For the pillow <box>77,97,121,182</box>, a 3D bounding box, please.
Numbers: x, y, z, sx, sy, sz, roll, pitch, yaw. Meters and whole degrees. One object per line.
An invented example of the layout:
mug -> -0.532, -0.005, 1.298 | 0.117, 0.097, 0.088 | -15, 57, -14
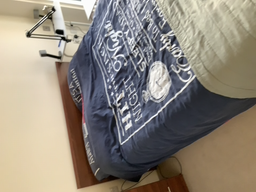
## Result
pillow -> -0.280, 0.370, 1.860 | 0.360, 0.160, 0.630 | -55, 46, 48

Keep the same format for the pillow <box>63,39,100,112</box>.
pillow -> -0.500, -0.210, 2.180 | 0.390, 0.190, 0.630 | -54, 47, 49
